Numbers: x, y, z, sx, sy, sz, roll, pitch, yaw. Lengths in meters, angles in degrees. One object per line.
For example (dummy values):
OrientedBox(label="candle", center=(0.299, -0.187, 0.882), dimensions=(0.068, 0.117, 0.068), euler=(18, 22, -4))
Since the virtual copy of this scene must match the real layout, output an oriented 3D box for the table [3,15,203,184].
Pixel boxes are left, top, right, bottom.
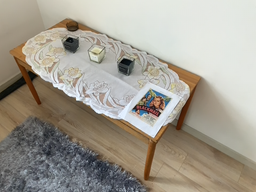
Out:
OrientedBox(label="table", center=(-0.190, -0.030, 1.500), dimensions=(1.140, 0.550, 0.520), euler=(29, 55, 21))
